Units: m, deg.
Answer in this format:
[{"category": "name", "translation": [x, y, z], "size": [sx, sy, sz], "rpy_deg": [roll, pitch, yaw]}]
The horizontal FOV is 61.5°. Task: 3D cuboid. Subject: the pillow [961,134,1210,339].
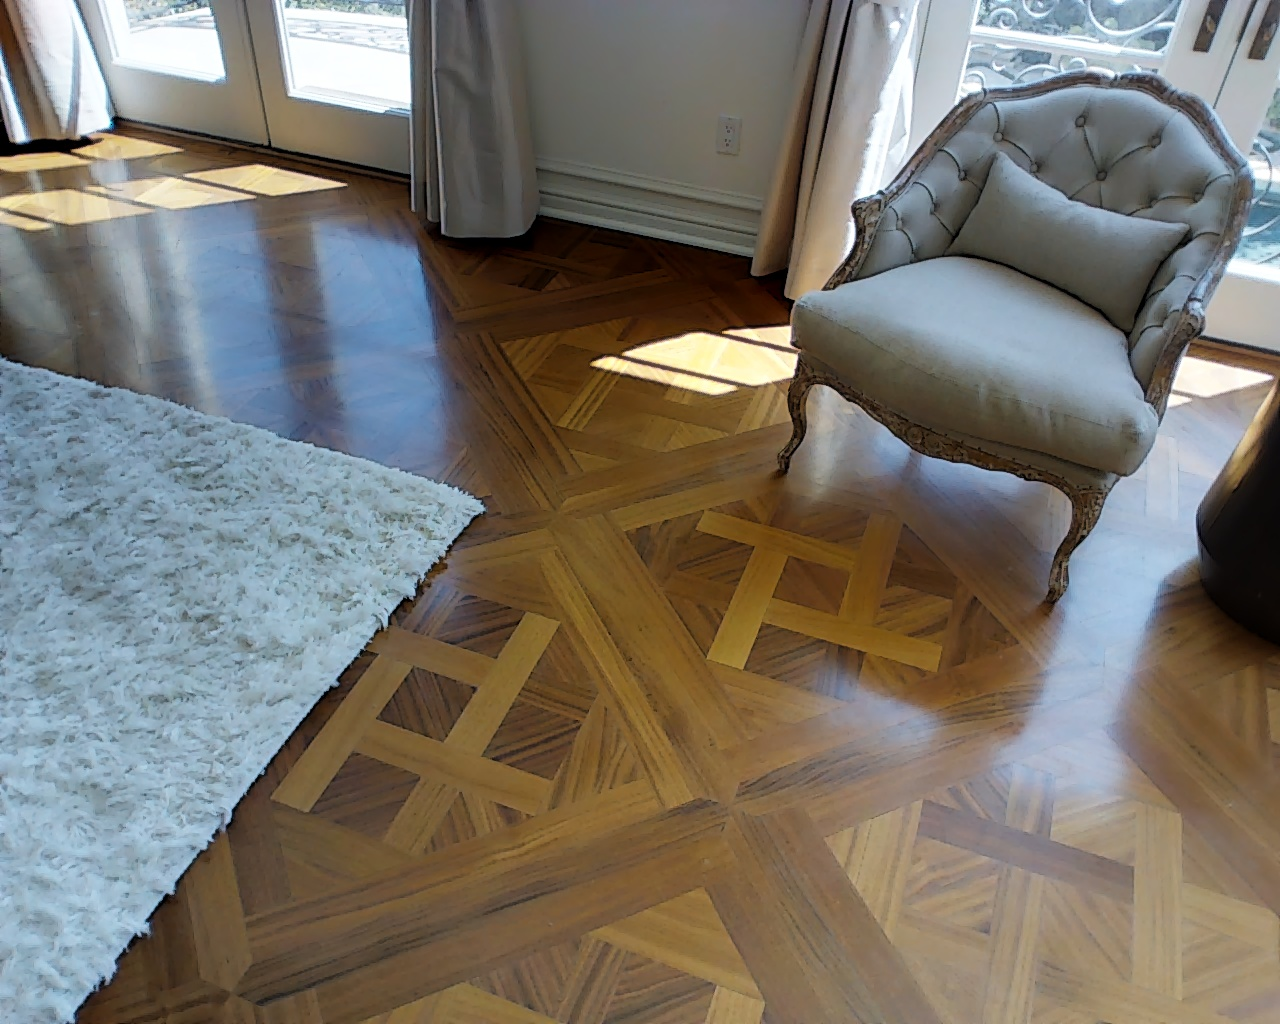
[{"category": "pillow", "translation": [0.950, -0.600, 2.340], "size": [0.450, 0.230, 0.140], "rpy_deg": [36, 72, 22]}]
